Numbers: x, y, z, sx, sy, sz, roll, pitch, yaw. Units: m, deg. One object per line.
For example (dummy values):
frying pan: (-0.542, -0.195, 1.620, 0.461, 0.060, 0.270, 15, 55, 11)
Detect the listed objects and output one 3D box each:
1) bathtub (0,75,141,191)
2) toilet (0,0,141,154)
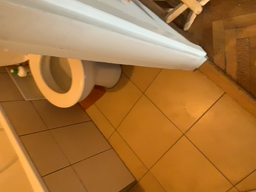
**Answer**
bathtub: (-0.630, 0.490, 1.440, 1.170, 0.550, 0.690, 45, 116, 24)
toilet: (-0.480, -0.170, 1.160, 0.740, 0.770, 0.380, 45, 116, 24)
